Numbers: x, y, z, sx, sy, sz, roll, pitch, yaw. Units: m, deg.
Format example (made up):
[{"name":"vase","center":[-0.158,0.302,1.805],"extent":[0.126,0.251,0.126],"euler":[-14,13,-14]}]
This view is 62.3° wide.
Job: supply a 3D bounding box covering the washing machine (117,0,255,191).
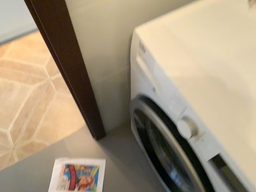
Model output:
[{"name":"washing machine","center":[0.370,0.100,0.910],"extent":[0.580,0.850,0.600],"euler":[-30,67,-16]}]
